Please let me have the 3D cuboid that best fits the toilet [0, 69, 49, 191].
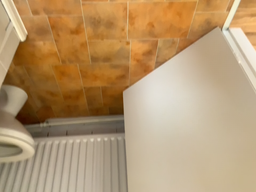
[{"bbox_3d":[-0.910,0.320,1.220,0.650,0.860,0.480,0,142,-6],"label":"toilet"}]
